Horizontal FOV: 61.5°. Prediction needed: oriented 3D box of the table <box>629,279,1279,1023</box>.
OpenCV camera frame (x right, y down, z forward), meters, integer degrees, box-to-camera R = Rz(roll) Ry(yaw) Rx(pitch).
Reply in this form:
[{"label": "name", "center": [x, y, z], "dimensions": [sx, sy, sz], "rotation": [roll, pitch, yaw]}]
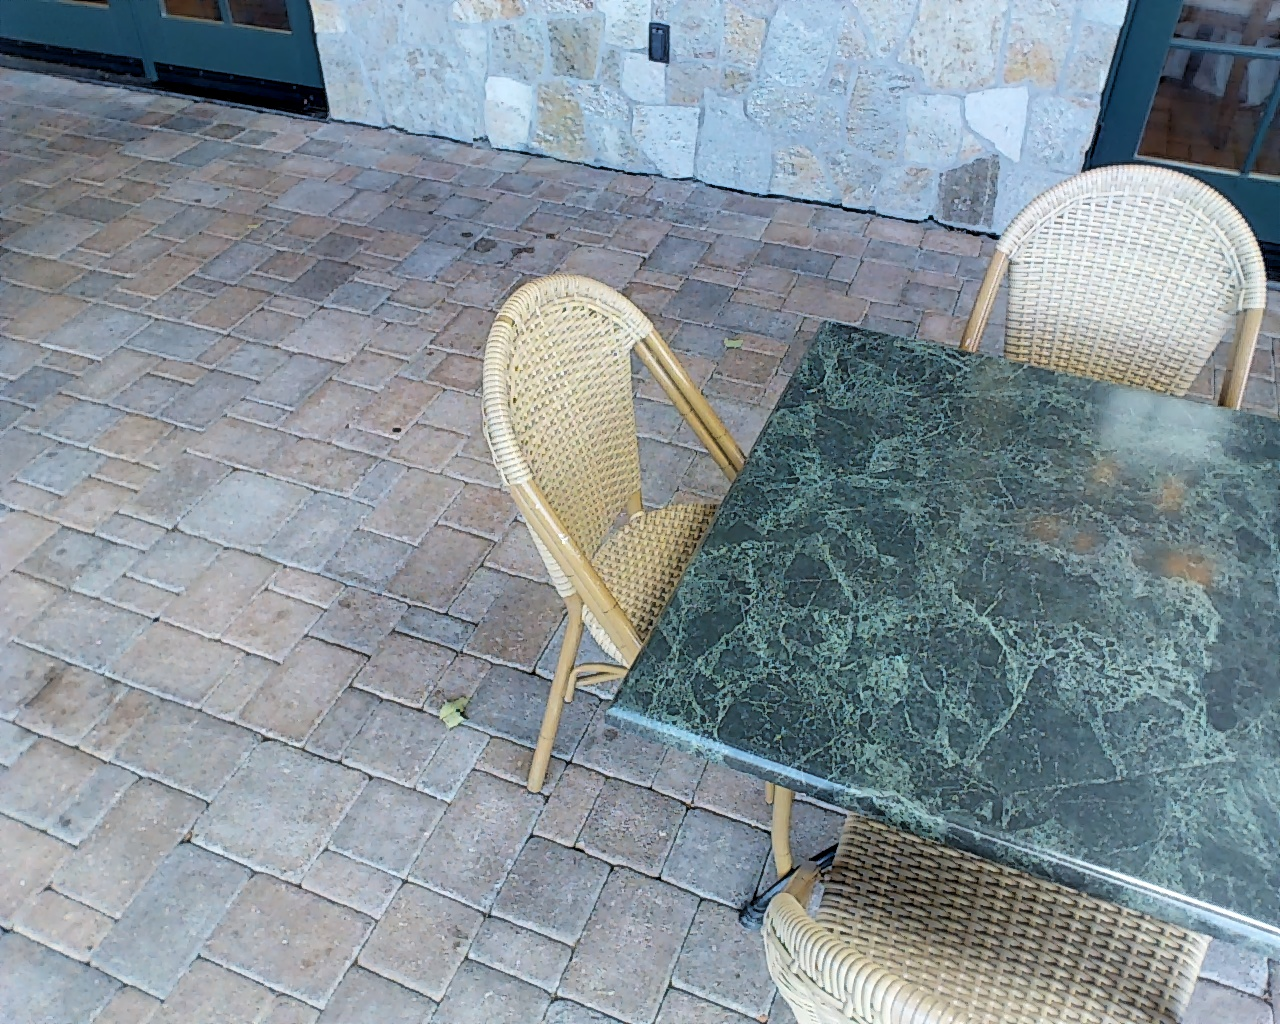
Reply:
[{"label": "table", "center": [0.570, 0.280, 1.720], "dimensions": [0.710, 0.640, 1.300], "rotation": [15, 44, 17]}]
